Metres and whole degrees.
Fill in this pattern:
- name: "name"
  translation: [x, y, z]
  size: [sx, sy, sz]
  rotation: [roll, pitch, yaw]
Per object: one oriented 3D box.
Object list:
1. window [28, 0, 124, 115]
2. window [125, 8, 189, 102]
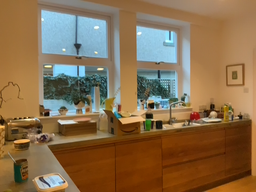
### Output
- name: "window"
  translation: [-0.680, -0.520, 2.960]
  size: [1.250, 1.460, 0.290]
  rotation: [-1, 2, -29]
- name: "window"
  translation: [0.510, -0.630, 3.620]
  size: [1.080, 1.430, 0.360]
  rotation: [-1, 2, -27]
